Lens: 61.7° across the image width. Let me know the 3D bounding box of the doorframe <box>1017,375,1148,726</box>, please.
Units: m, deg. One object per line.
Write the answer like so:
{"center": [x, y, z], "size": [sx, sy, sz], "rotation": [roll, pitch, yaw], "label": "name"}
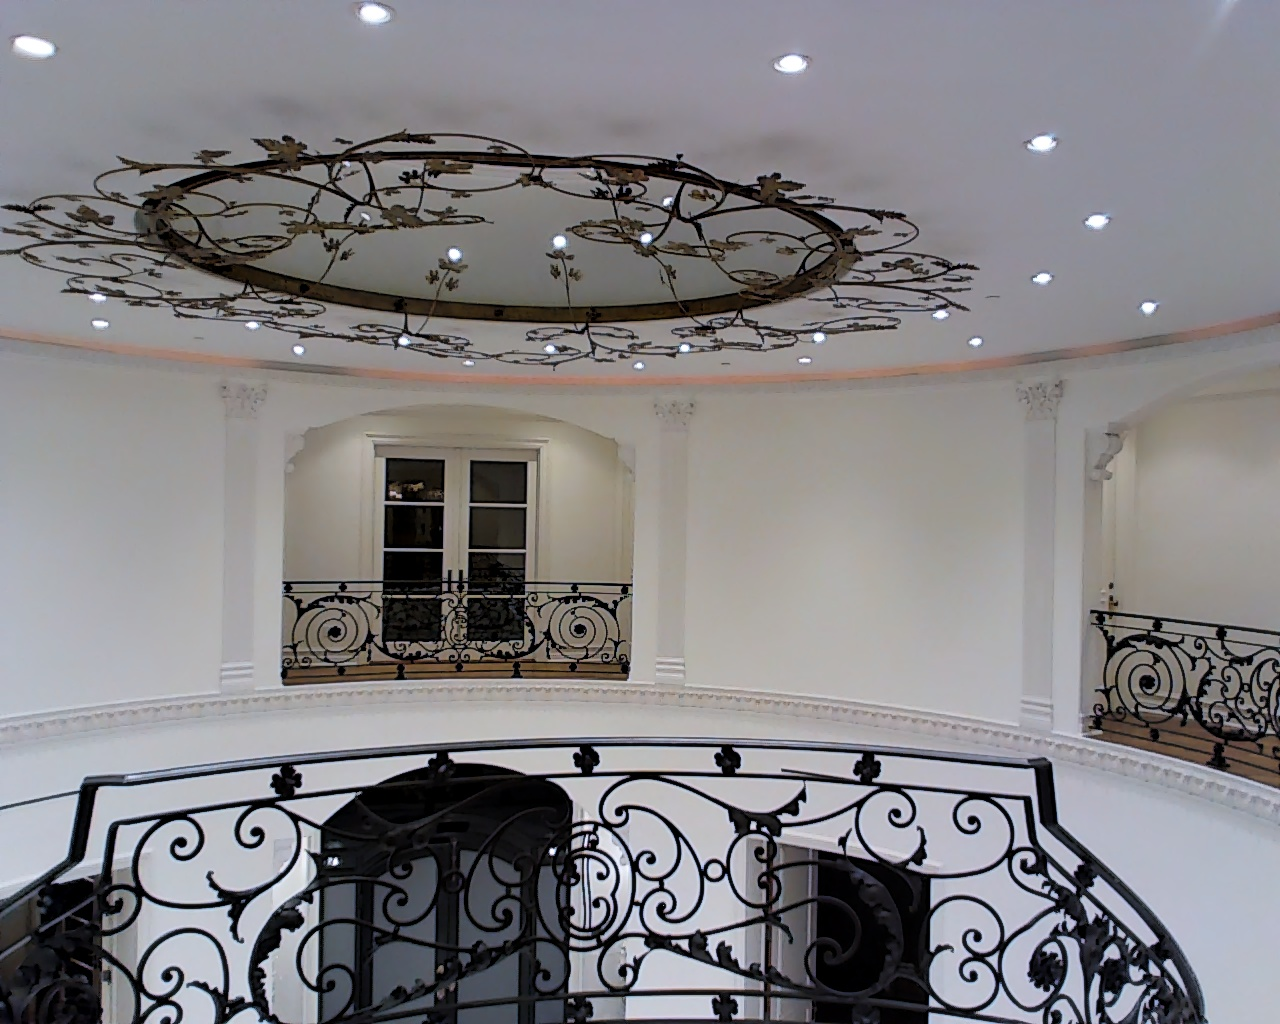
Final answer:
{"center": [3.839, 0.320, 9.260], "size": [1.380, 2.851, 0.330], "rotation": [1, 0, -37], "label": "doorframe"}
